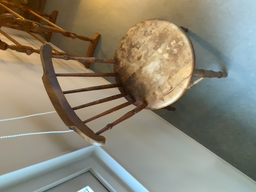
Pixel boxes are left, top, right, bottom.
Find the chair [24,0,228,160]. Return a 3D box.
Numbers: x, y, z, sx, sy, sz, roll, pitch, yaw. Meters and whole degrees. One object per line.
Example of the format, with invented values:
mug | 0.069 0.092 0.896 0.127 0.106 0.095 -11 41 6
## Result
chair | 0.070 -0.130 1.040 0.490 0.810 0.460 -46 69 25
